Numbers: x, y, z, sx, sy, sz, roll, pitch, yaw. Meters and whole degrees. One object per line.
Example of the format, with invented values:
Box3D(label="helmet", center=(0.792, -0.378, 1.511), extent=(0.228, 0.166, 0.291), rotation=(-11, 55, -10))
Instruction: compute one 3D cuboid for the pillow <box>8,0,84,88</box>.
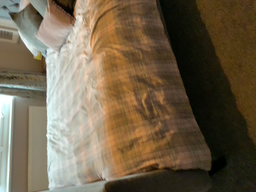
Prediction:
Box3D(label="pillow", center=(-0.820, -0.760, 1.900), extent=(1.510, 0.340, 0.830), rotation=(-36, 57, 51))

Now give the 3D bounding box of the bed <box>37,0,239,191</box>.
Box3D(label="bed", center=(-0.350, -0.290, 1.930), extent=(1.750, 0.590, 2.340), rotation=(-37, 57, 51))
